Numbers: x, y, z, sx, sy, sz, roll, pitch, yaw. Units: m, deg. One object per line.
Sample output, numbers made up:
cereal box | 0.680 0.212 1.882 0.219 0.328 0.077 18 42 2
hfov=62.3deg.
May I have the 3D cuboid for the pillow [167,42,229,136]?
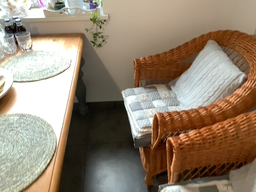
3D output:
pillow | 0.410 -0.050 1.310 0.190 0.480 0.370 -6 5 -8
